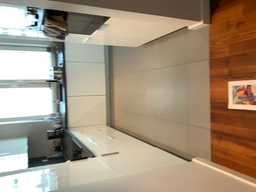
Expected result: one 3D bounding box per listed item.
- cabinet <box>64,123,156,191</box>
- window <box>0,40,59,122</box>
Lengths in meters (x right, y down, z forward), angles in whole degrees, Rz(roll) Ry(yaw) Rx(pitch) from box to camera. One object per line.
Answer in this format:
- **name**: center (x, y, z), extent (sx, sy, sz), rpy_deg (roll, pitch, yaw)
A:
- **cabinet**: center (-0.390, 0.820, 3.140), extent (1.640, 0.820, 0.560), rpy_deg (-177, 86, -65)
- **window**: center (-2.100, -0.280, 4.010), extent (0.150, 1.460, 1.490), rpy_deg (173, 95, -65)
